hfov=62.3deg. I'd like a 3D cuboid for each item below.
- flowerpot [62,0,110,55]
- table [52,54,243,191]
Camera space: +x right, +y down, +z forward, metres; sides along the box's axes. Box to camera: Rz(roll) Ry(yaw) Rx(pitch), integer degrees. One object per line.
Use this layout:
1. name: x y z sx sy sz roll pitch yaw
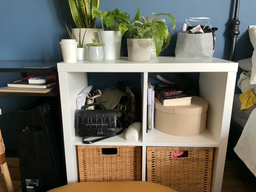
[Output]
1. flowerpot: -0.220 -0.470 1.140 0.220 0.480 0.160 0 15 0
2. table: 0.080 0.160 1.180 0.800 0.740 0.410 1 15 2
